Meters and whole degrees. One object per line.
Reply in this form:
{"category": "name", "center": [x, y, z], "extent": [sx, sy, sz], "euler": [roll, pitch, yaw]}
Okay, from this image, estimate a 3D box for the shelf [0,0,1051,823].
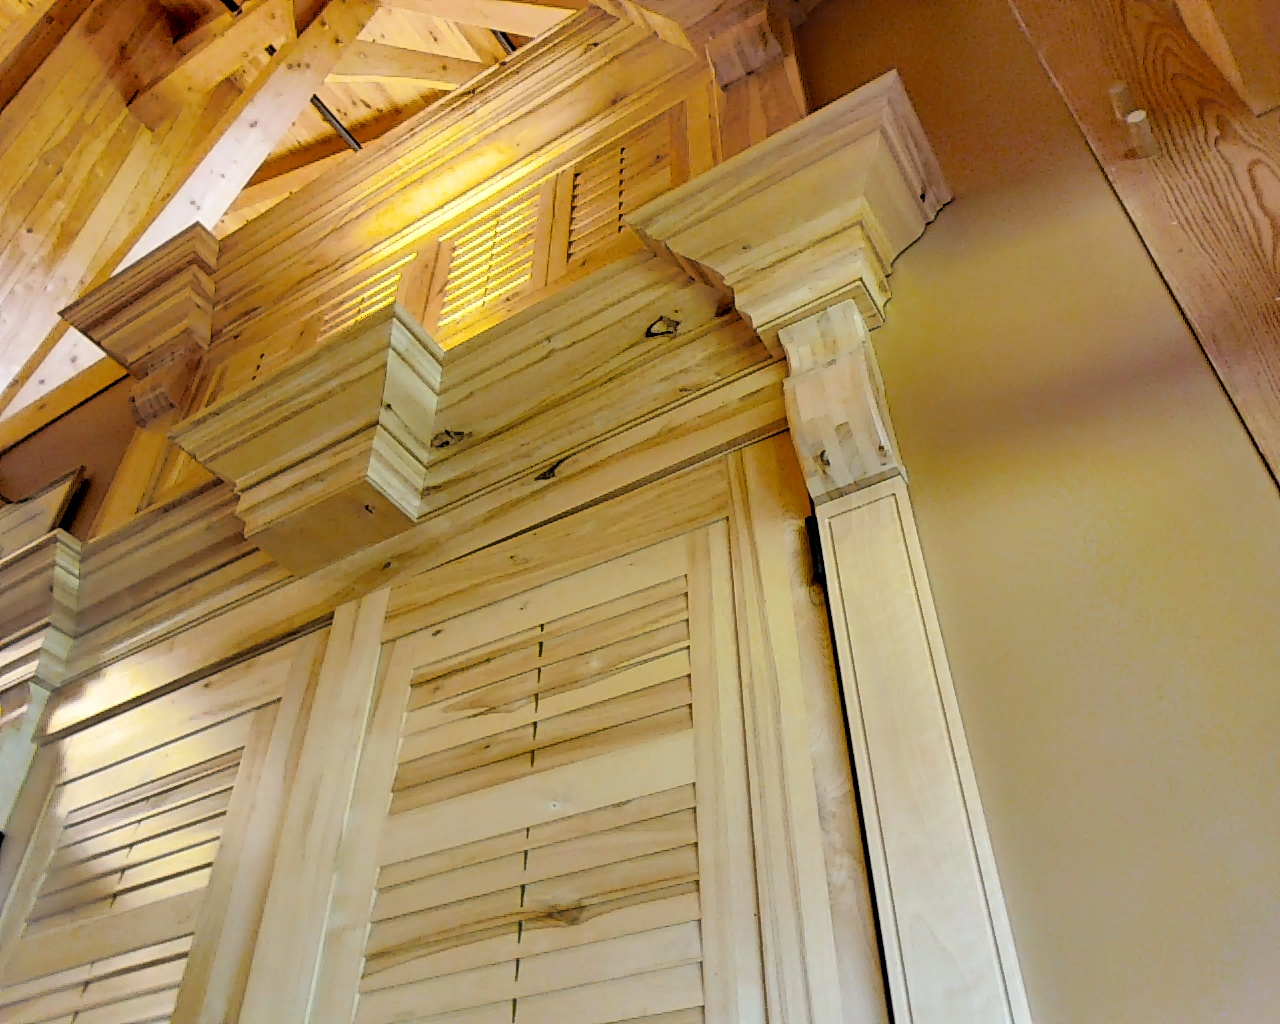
{"category": "shelf", "center": [-0.630, -0.050, 2.000], "extent": [2.499, 0.740, 0.360], "euler": [-22, -46, 23]}
